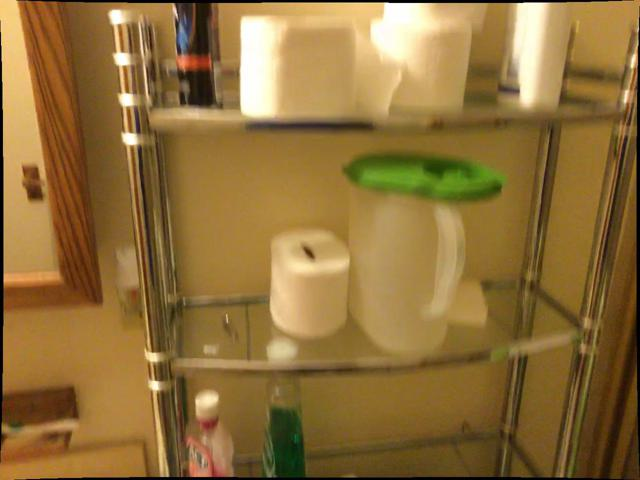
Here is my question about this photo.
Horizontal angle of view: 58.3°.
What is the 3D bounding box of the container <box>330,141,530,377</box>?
[{"bbox_3d":[0.130,0.010,0.790,0.190,0.250,0.220,-4,19,-10],"label":"container"}]
